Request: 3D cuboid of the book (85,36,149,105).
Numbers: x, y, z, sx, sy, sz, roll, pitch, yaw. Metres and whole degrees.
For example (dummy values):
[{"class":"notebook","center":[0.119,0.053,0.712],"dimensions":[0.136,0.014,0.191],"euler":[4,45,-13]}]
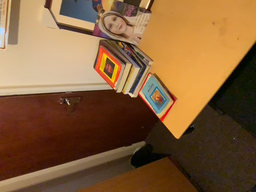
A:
[{"class":"book","center":[-0.060,-0.110,0.940],"dimensions":[0.190,0.140,0.220],"euler":[54,131,31]}]
